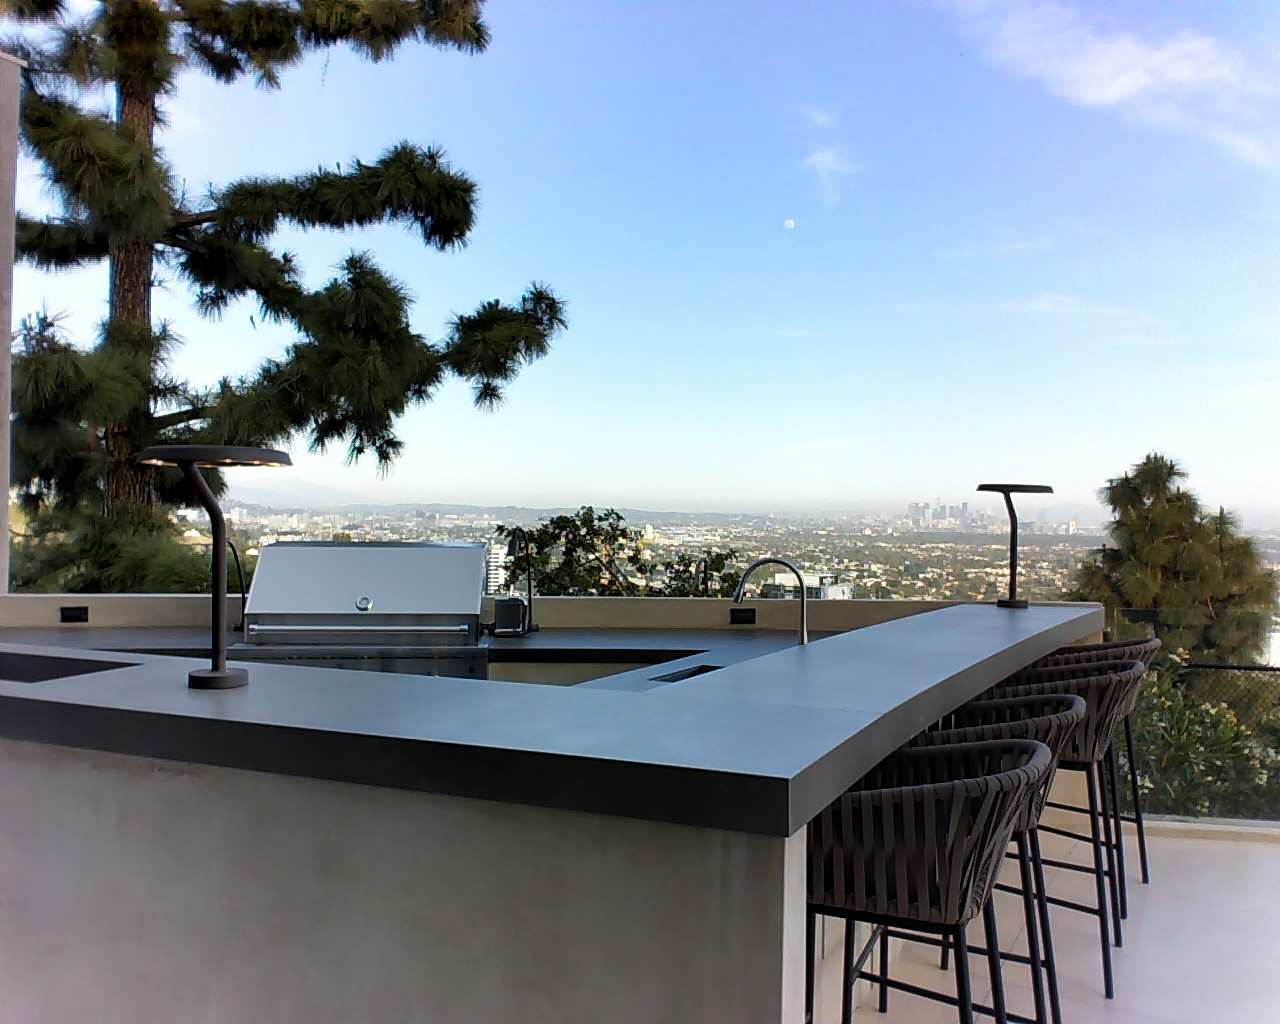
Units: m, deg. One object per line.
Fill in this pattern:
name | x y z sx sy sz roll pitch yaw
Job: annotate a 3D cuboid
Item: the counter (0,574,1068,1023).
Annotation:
counter | -0.200 0.970 4.110 3.150 1.180 4.150 1 0 25
